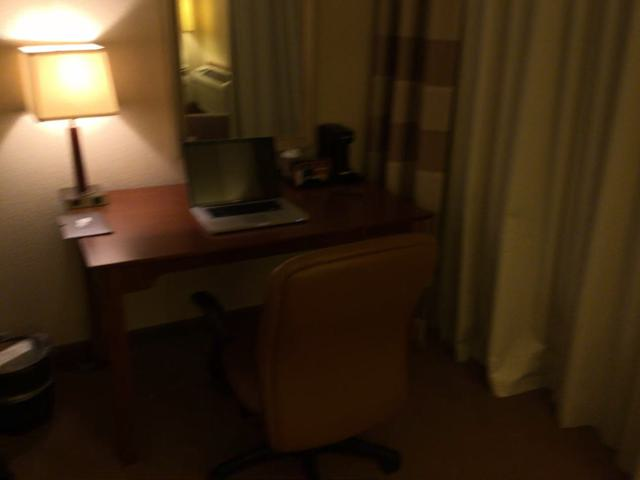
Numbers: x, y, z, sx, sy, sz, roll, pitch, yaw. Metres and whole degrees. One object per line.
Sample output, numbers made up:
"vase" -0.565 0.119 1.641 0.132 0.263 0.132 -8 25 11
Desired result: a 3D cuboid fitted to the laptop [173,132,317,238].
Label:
"laptop" -0.270 -0.210 2.010 0.370 0.230 0.410 -9 24 -25
